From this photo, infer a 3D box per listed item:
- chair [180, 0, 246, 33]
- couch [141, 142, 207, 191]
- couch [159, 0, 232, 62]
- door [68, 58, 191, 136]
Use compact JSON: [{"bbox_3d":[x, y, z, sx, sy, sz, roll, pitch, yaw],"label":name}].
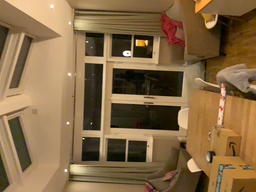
[{"bbox_3d":[1.260,-1.310,3.210,0.420,0.790,0.580,-109,23,-83],"label":"chair"},{"bbox_3d":[0.890,1.640,4.470,0.830,1.090,0.980,-94,8,-73],"label":"couch"},{"bbox_3d":[1.180,-1.210,4.030,1.200,0.880,0.990,-109,23,-83],"label":"couch"},{"bbox_3d":[0.030,0.050,5.150,0.100,2.850,1.710,-113,27,-84],"label":"door"}]
